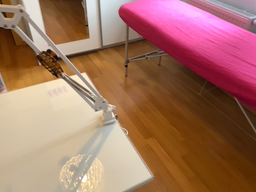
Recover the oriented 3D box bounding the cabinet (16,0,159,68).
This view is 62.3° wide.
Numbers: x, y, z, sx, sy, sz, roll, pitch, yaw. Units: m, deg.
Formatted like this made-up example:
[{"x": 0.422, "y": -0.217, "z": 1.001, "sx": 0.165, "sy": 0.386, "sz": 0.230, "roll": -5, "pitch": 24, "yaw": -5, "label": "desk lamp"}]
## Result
[{"x": -0.430, "y": -1.560, "z": 2.150, "sx": 1.540, "sy": 2.180, "sz": 0.670, "roll": -19, "pitch": 45, "yaw": -23, "label": "cabinet"}]
